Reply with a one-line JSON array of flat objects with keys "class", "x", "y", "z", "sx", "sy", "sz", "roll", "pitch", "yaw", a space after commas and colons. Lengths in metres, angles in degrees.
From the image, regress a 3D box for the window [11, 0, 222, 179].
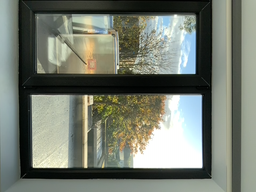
[{"class": "window", "x": -0.070, "y": -0.660, "z": 1.480, "sx": 0.180, "sy": 1.380, "sz": 2.430, "roll": -124, "pitch": -145, "yaw": -88}]
